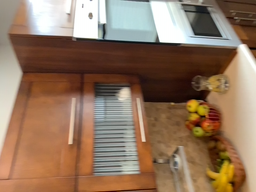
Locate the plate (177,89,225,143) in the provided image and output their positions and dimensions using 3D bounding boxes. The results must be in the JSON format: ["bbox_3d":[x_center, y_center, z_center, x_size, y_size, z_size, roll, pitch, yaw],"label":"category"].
[{"bbox_3d":[0.500,0.140,1.500,0.200,0.180,0.320,103,164,-54],"label":"plate"}]

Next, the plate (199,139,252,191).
[{"bbox_3d":[0.580,0.440,1.300,0.210,0.130,0.280,103,164,-54],"label":"plate"}]
